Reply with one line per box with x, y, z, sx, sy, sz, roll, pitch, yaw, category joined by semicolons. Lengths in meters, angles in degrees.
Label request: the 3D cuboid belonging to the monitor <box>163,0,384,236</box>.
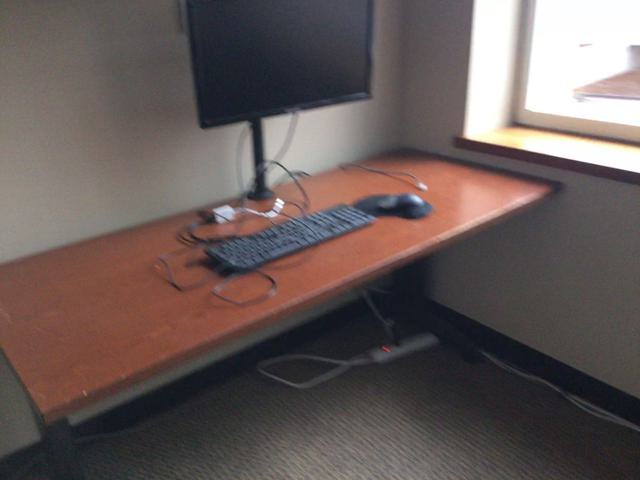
-0.100;-0.380;1.640;0.540;0.580;0.240;-19;25;-35;monitor
